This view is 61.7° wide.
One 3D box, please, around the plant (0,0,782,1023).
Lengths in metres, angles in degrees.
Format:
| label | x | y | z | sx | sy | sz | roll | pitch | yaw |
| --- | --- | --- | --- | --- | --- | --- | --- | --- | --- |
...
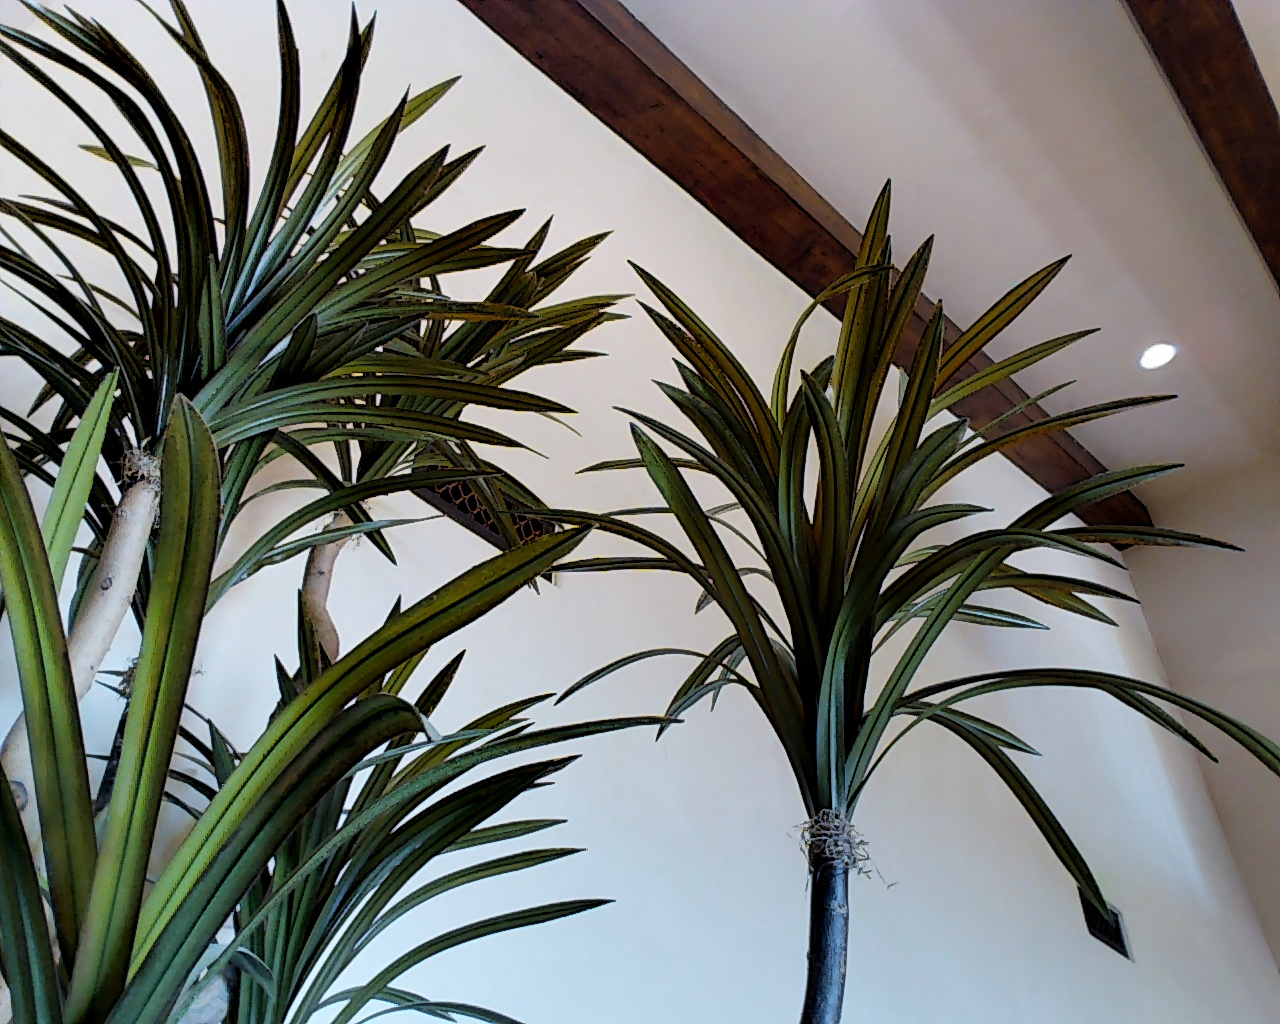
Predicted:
| label | x | y | z | sx | sy | sz | roll | pitch | yaw |
| --- | --- | --- | --- | --- | --- | --- | --- | --- | --- |
| plant | -0.450 | 0.510 | 0.770 | 0.670 | 3.100 | 0.990 | -31 | -51 | 30 |
